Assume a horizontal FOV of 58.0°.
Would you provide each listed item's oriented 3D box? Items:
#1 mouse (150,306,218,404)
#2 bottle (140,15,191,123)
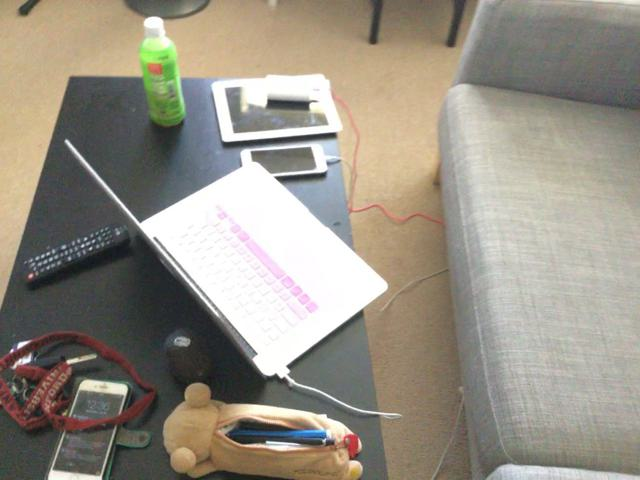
[{"bbox_3d":[-0.190,0.160,0.810,0.060,0.070,0.100,-17,56,-18],"label":"mouse"},{"bbox_3d":[-0.280,-0.310,1.060,0.050,0.170,0.080,6,52,0],"label":"bottle"}]
